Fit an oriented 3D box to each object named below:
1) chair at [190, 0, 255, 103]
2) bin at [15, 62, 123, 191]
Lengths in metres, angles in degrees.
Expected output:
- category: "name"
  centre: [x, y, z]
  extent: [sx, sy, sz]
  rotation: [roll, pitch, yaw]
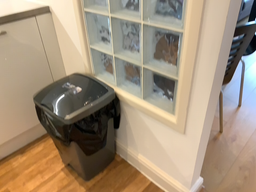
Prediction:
- category: "chair"
  centre: [0.830, -0.420, 1.830]
  extent: [0.450, 0.810, 0.440]
  rotation: [7, 37, 13]
- category: "bin"
  centre: [-0.330, 0.180, 1.310]
  extent: [0.460, 0.580, 0.350]
  rotation: [28, 46, 36]
